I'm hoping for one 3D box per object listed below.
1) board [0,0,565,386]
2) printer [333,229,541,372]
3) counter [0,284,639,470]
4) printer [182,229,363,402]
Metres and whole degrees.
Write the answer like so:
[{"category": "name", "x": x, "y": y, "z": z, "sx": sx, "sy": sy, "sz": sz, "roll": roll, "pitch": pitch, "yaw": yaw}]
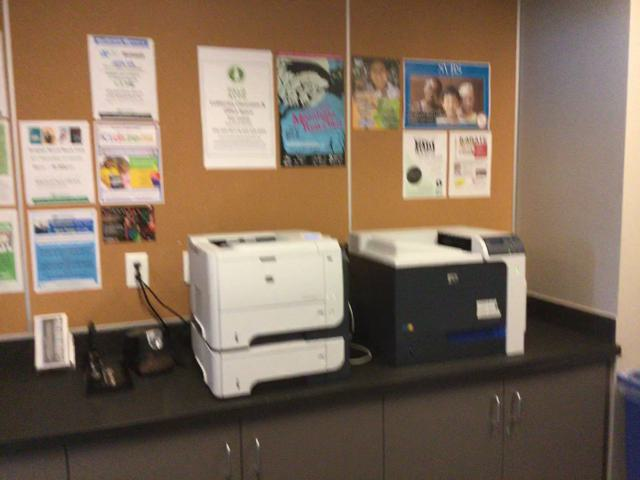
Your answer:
[{"category": "board", "x": -0.430, "y": -0.380, "z": 2.030, "sx": 2.870, "sy": 1.580, "sz": 0.290, "roll": -3, "pitch": 5, "yaw": -18}, {"category": "printer", "x": 0.420, "y": 0.190, "z": 2.210, "sx": 0.590, "sy": 0.420, "sz": 0.530, "roll": -3, "pitch": 5, "yaw": -18}, {"category": "counter", "x": -0.180, "y": 0.400, "z": 1.970, "sx": 2.540, "sy": 0.240, "sz": 0.640, "roll": -3, "pitch": 5, "yaw": -18}, {"category": "printer", "x": -0.190, "y": 0.210, "z": 1.980, "sx": 0.490, "sy": 0.450, "sz": 0.560, "roll": -3, "pitch": 5, "yaw": -18}]
